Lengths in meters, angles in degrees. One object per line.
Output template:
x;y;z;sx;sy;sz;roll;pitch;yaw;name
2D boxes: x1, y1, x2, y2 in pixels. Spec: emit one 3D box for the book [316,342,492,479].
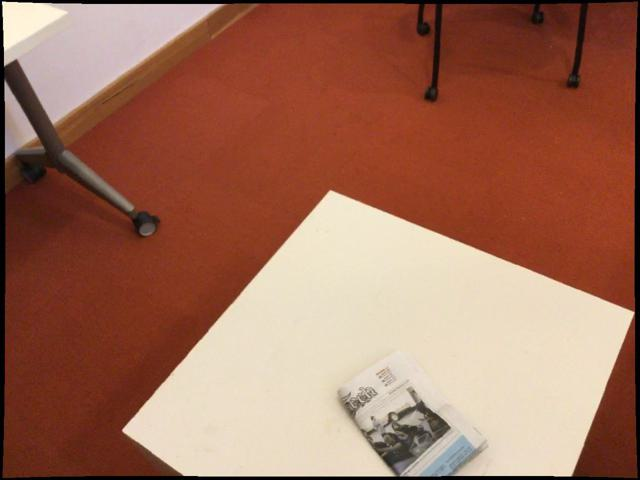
0.140;0.300;0.970;0.230;0.030;0.180;26;58;23;book
